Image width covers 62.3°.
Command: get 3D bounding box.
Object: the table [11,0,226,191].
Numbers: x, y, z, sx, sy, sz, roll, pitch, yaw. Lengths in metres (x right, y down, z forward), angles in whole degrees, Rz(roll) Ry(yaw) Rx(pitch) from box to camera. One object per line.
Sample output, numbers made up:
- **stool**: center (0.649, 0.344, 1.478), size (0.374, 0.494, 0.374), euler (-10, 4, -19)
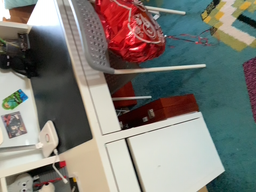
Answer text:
- **table**: center (-0.110, 0.080, 1.260), size (0.700, 0.740, 1.040), euler (-32, 71, 44)
